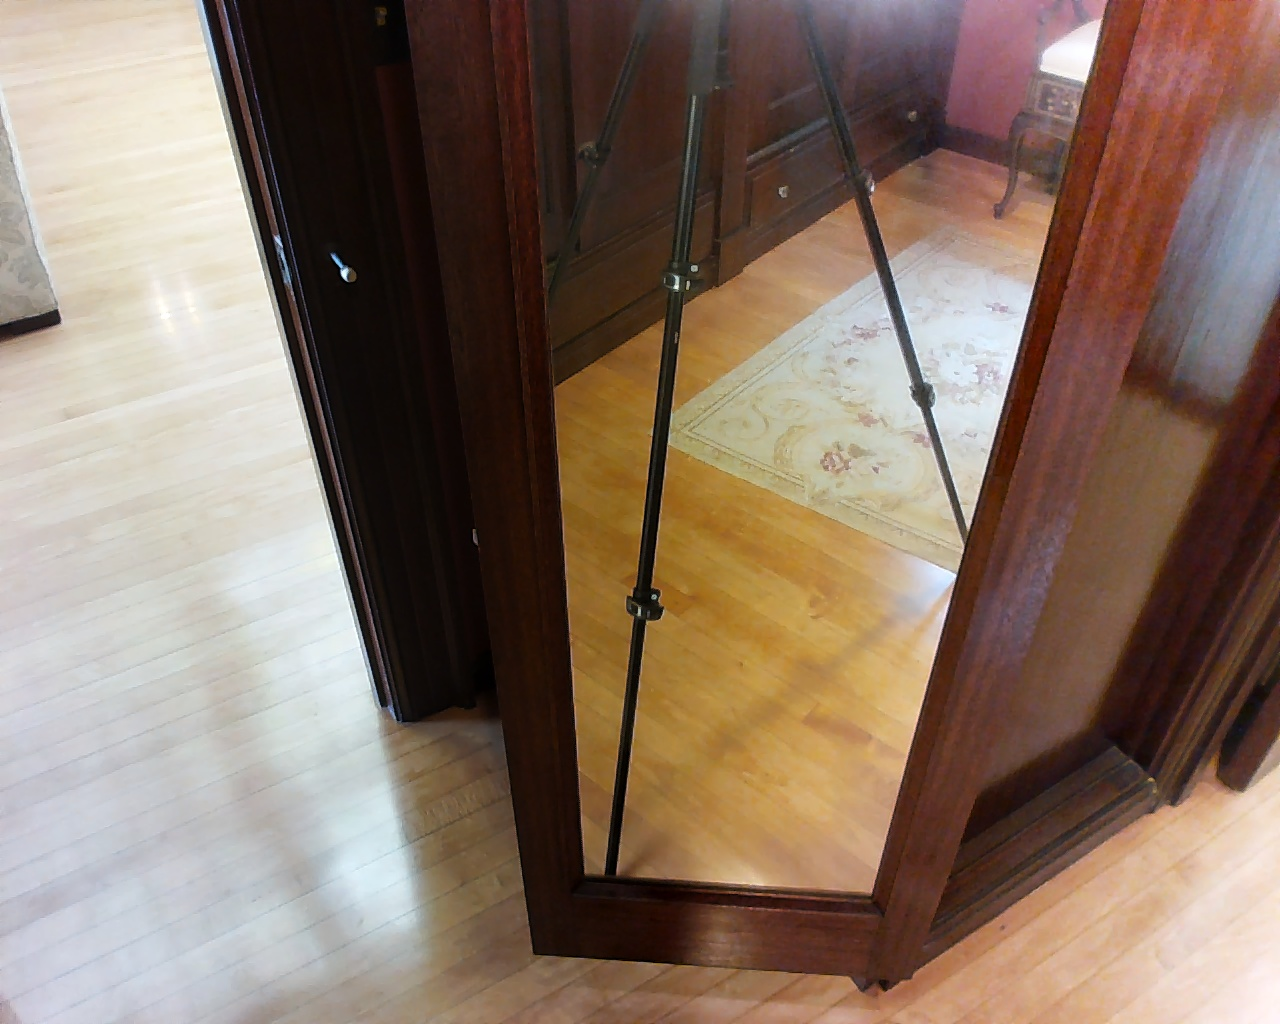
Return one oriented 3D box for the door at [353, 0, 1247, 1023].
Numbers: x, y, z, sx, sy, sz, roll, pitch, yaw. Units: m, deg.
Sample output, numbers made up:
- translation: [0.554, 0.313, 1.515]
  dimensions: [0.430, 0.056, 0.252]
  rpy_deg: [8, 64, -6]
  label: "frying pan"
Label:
- translation: [0.090, -0.040, 0.960]
  dimensions: [0.540, 1.900, 0.100]
  rpy_deg: [5, 42, 6]
  label: "door"
